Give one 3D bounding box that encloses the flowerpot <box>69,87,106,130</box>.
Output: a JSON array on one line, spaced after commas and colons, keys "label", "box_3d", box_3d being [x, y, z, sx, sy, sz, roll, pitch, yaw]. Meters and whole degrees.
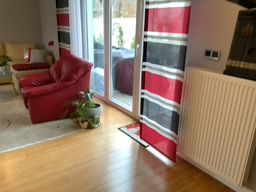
[{"label": "flowerpot", "box_3d": [-0.590, 0.170, 3.080, 0.430, 0.480, 0.320, -9, 22, -30]}]
